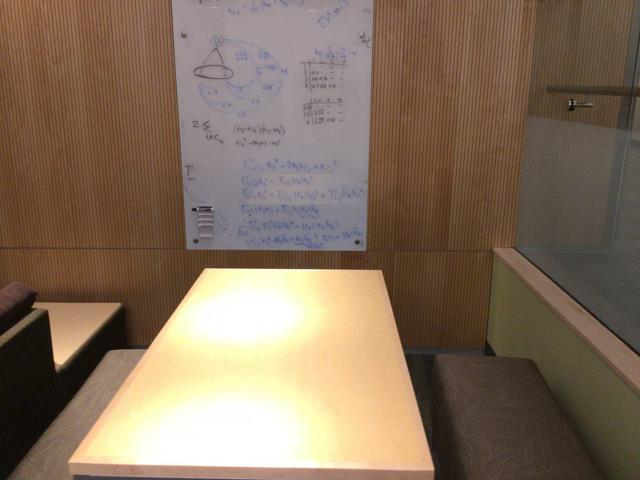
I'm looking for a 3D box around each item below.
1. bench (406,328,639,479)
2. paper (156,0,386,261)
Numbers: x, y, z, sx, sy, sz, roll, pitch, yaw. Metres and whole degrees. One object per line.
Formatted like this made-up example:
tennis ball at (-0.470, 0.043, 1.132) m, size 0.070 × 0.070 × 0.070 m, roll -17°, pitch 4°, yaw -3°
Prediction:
bench at (0.620, 0.800, 1.870) m, size 0.470 × 0.550 × 1.060 m, roll 12°, pitch 16°, yaw 0°
paper at (-0.220, -0.570, 2.840) m, size 1.060 × 1.370 × 0.070 m, roll -1°, pitch 14°, yaw 1°
